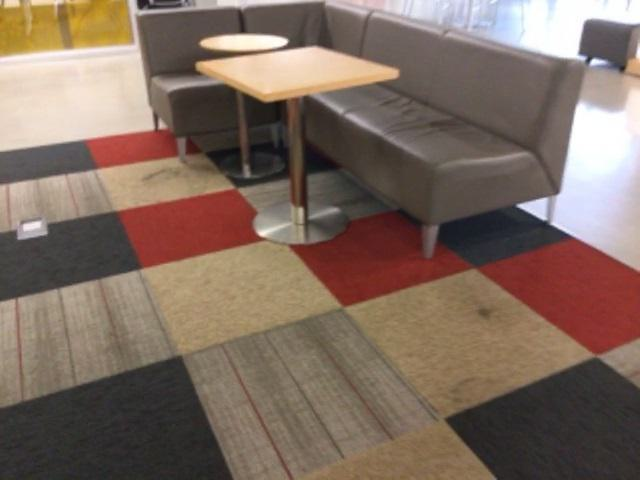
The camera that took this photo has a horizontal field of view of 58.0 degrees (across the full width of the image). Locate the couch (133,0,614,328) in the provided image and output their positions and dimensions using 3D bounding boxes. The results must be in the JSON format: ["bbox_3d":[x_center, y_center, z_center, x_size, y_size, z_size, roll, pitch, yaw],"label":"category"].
[{"bbox_3d":[0.000,-0.730,3.010,1.450,1.040,2.290,-14,25,-18],"label":"couch"}]

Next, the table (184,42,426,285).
[{"bbox_3d":[-0.060,-0.390,2.510,0.730,0.780,0.700,-18,27,-25],"label":"table"}]

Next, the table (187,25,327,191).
[{"bbox_3d":[-0.350,-0.760,3.210,0.540,0.750,0.560,-14,25,-18],"label":"table"}]
